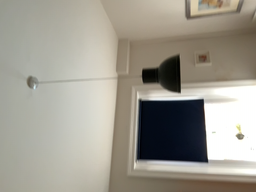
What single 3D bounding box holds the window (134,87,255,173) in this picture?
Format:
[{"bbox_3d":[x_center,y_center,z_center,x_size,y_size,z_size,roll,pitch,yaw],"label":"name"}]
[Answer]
[{"bbox_3d":[1.130,0.500,3.370,0.110,2.030,1.270,51,-141,-67],"label":"window"}]
